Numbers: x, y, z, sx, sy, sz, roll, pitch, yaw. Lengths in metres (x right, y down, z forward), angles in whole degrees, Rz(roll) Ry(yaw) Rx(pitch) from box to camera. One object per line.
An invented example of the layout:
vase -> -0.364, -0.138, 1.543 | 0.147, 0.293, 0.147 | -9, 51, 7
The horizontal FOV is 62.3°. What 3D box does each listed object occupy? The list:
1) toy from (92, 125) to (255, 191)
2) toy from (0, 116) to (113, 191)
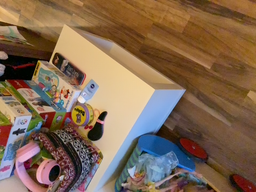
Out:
toy -> 0.260, 0.490, 0.910 | 0.650, 0.500, 0.330 | 38, 110, 24
toy -> -0.280, 0.260, 0.770 | 0.220, 0.310, 0.260 | 41, 111, 23
